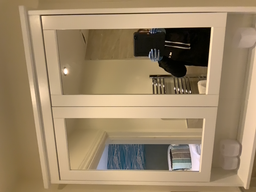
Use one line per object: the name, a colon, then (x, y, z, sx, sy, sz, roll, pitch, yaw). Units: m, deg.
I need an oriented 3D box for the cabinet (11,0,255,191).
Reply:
cabinet: (0.070, 0.030, 0.970, 0.160, 1.010, 0.840, -84, -7, -74)
